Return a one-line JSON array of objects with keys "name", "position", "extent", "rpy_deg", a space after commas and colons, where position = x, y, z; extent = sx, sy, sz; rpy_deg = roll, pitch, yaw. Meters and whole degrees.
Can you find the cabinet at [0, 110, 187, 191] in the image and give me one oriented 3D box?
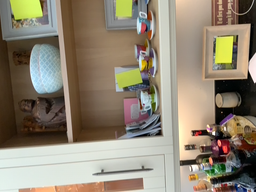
[{"name": "cabinet", "position": [-0.200, 0.380, 0.970], "extent": [0.360, 0.830, 0.500], "rpy_deg": [-121, 27, -80]}]
